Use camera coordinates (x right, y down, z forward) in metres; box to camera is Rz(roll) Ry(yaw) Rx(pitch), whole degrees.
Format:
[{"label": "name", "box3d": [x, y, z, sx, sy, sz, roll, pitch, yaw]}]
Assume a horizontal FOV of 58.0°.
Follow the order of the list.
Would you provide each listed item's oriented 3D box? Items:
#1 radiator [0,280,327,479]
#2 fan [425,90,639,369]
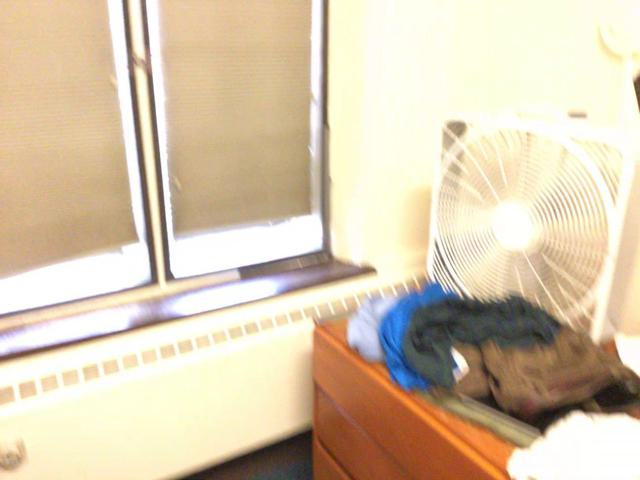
[{"label": "radiator", "box3d": [-0.420, 0.510, 1.640, 0.900, 0.600, 0.150, -12, 23, -25]}, {"label": "fan", "box3d": [0.520, -0.070, 1.450, 0.200, 0.540, 0.550, -12, 23, -25]}]
